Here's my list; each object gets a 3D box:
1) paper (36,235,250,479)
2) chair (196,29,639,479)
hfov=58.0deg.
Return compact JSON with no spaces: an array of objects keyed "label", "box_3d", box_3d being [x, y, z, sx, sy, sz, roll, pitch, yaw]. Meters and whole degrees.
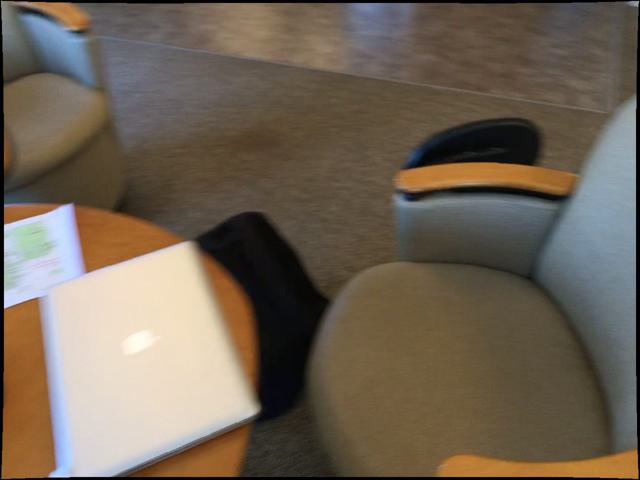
[{"label":"paper","box_3d":[-0.279,0.160,0.880,0.269,0.060,0.330,-15,49,-11]},{"label":"chair","box_3d":[0.349,0.271,1.030,0.818,0.851,0.961,3,48,6]}]
